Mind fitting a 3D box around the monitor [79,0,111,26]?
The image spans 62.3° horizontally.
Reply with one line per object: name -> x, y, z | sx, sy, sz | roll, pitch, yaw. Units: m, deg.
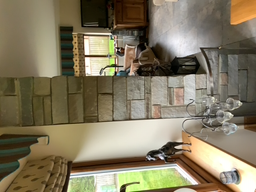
monitor -> -0.880, -2.460, 5.620 | 0.080, 0.830, 1.140 | -162, 71, -79

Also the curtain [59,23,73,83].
curtain -> -1.640, -1.120, 5.610 | 0.170, 0.300, 1.550 | -165, 73, -79
